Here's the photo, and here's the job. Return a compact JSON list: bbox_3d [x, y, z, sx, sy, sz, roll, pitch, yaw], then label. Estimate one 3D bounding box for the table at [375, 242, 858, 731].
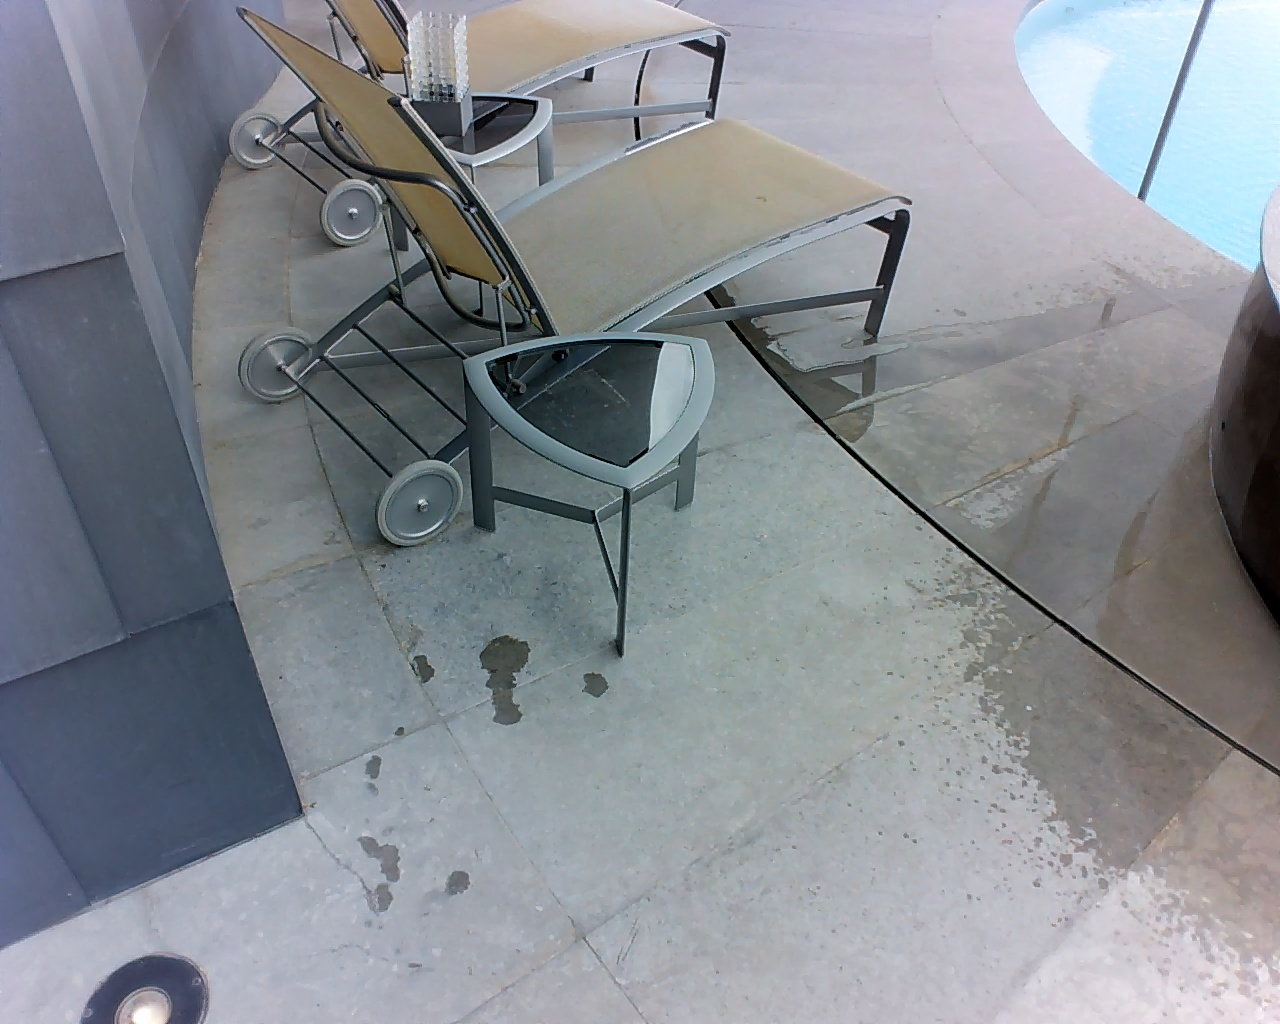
[{"bbox_3d":[-0.080,-0.100,2.230,0.620,0.510,0.770,-21,47,-25],"label":"table"}]
